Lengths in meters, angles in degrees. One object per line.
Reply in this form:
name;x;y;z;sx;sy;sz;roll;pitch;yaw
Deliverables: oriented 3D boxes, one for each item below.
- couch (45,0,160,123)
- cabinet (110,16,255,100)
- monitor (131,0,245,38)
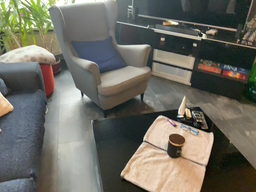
couch;-0.280;-0.440;2.300;0.910;0.950;0.680;29;41;35
cabinet;0.660;-0.610;2.950;1.840;0.620;0.530;20;36;25
monitor;0.660;-1.260;2.550;1.380;0.910;0.070;17;37;25
